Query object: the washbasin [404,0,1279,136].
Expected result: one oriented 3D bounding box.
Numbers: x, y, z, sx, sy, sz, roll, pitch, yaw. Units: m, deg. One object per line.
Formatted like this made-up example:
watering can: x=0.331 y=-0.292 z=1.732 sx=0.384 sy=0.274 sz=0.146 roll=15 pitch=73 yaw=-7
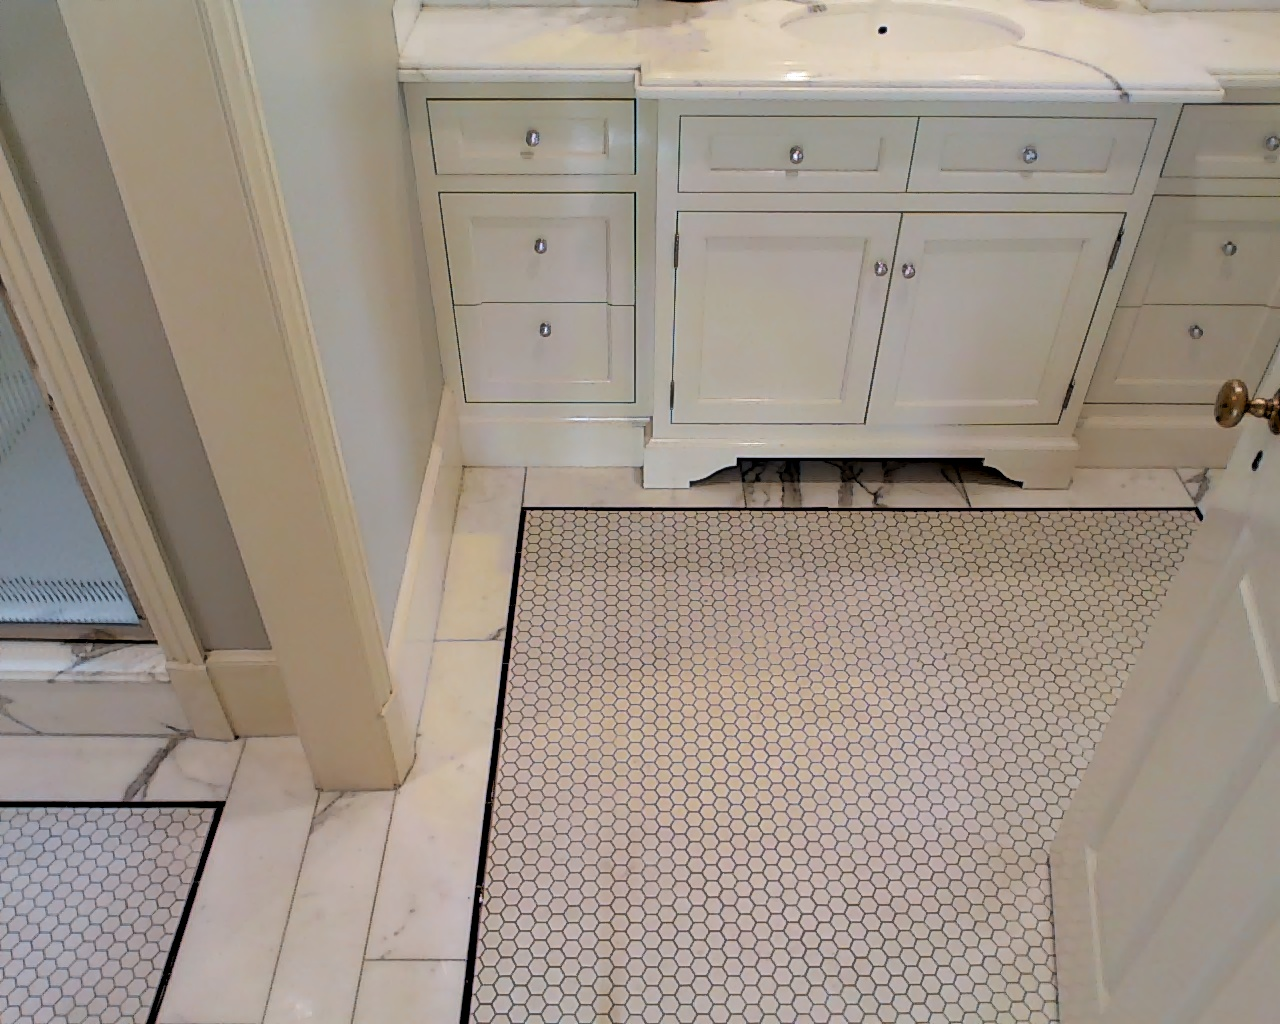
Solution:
washbasin: x=0.510 y=-0.910 z=2.060 sx=1.800 sy=0.120 sz=0.630 roll=0 pitch=42 yaw=0
